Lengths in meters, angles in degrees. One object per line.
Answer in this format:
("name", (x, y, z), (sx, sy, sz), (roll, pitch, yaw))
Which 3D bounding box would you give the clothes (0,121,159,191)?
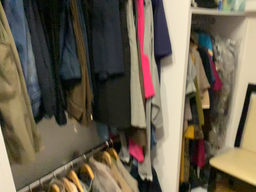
("clothes", (-0.280, 0.790, 1.240), (0.550, 0.950, 0.810), (14, 24, 36))

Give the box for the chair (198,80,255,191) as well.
("chair", (0.990, 0.470, 1.840), (0.470, 1.060, 0.580), (15, 25, 36))

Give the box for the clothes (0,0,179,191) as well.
("clothes", (-0.240, -0.170, 1.020), (0.610, 0.840, 0.770), (16, 26, 39))
